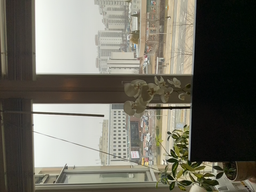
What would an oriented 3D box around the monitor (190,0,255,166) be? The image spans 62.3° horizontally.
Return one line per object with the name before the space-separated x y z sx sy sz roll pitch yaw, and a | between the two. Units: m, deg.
monitor | 0.510 -0.110 0.890 0.050 0.480 0.780 -120 28 -84
